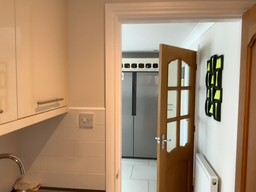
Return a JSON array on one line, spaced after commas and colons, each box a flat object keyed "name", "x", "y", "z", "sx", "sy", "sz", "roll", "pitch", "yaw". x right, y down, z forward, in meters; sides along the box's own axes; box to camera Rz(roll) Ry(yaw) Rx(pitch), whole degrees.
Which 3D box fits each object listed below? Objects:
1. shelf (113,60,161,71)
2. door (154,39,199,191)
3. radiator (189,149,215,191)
[{"name": "shelf", "x": 0.210, "y": -0.660, "z": 4.640, "sx": 0.950, "sy": 0.180, "sz": 0.750, "roll": 1, "pitch": 4, "yaw": 6}, {"name": "door", "x": 0.590, "y": 0.440, "z": 2.520, "sx": 0.100, "sy": 2.070, "sz": 0.780, "roll": 5, "pitch": 5, "yaw": 42}, {"name": "radiator", "x": 0.710, "y": 0.960, "z": 2.100, "sx": 0.100, "sy": 0.670, "sz": 0.680, "roll": 2, "pitch": 4, "yaw": 8}]
